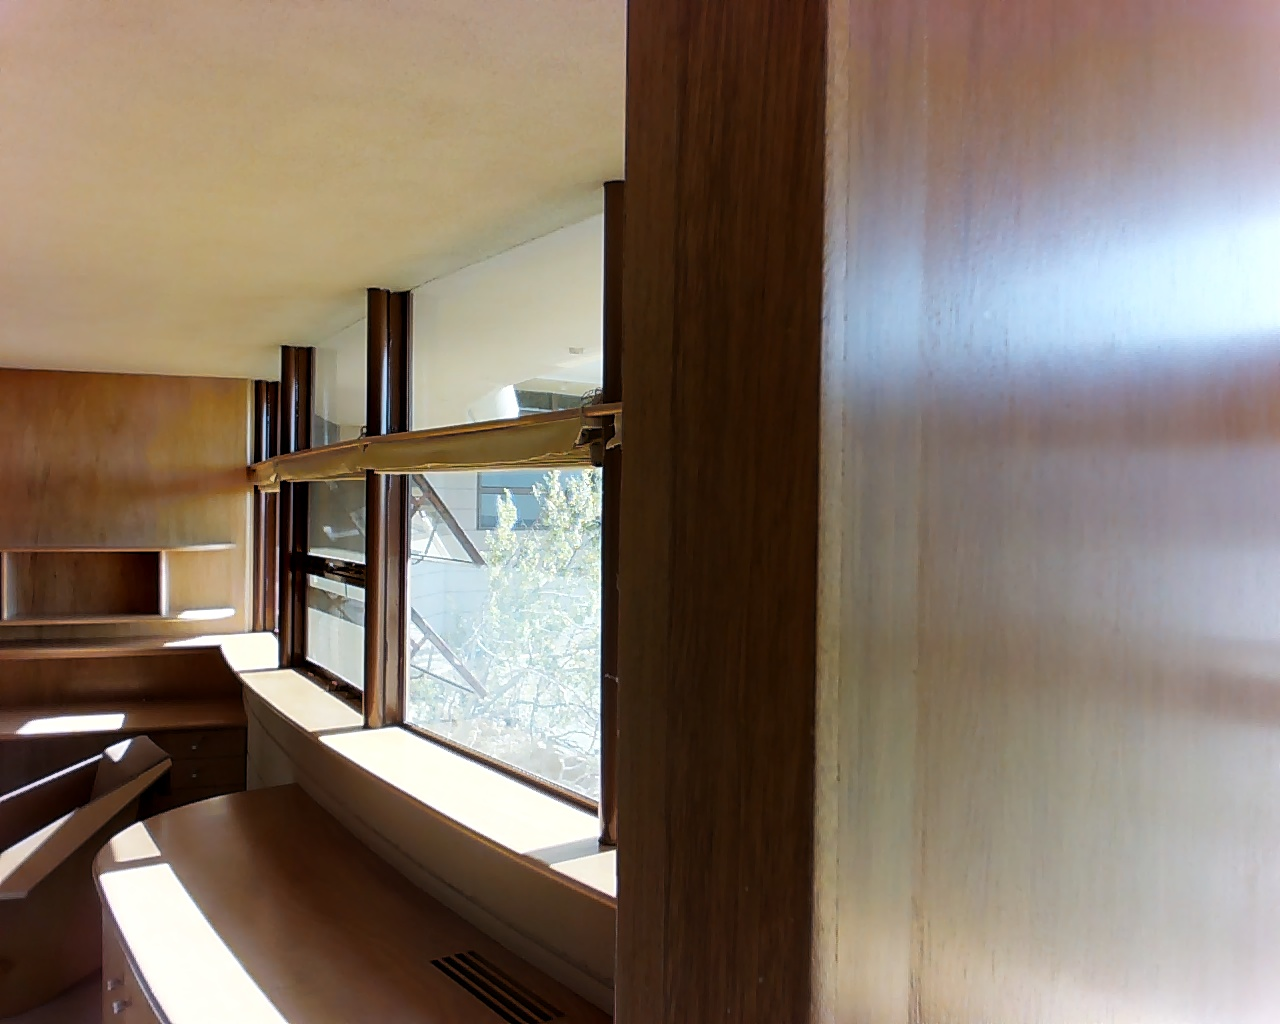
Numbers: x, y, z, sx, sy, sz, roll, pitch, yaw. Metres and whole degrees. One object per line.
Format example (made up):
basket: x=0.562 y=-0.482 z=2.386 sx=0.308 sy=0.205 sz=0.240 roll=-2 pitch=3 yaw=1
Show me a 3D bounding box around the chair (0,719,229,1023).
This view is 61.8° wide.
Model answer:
chair: x=-1.960 y=1.200 z=3.630 sx=0.850 sy=0.760 sz=0.840 roll=0 pitch=0 yaw=-37
